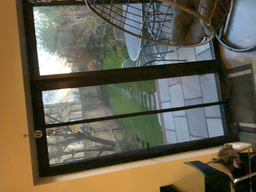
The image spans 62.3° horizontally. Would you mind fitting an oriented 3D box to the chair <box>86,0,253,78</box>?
[{"bbox_3d":[0.210,-0.760,1.850,0.880,1.070,0.950,150,113,-78],"label":"chair"}]
